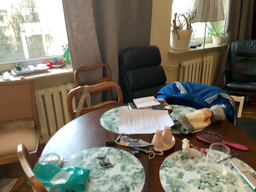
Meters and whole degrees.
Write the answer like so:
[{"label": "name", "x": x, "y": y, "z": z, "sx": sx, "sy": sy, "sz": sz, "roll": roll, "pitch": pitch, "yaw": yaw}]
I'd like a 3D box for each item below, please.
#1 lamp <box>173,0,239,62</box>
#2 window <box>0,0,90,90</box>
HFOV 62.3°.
[{"label": "lamp", "x": 1.080, "y": -0.980, "z": 2.970, "sx": 0.680, "sy": 0.840, "sz": 0.490, "roll": -15, "pitch": 25, "yaw": -33}, {"label": "window", "x": -0.990, "y": -0.920, "z": 1.900, "sx": 1.110, "sy": 1.620, "sz": 0.320, "roll": -13, "pitch": 24, "yaw": -29}]
